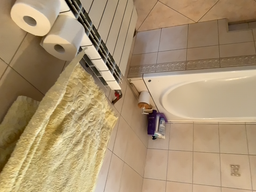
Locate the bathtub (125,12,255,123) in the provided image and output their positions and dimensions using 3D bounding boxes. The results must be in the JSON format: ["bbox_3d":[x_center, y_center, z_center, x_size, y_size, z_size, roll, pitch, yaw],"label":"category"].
[{"bbox_3d":[0.860,-0.170,1.590,1.560,0.500,0.680,-3,147,23],"label":"bathtub"}]
